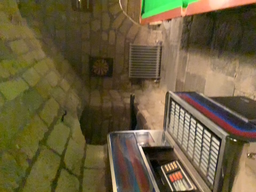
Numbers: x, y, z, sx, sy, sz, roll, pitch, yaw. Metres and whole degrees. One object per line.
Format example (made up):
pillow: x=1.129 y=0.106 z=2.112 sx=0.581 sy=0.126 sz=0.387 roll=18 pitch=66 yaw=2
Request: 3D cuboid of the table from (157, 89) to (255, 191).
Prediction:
table: x=0.780 y=0.410 z=1.640 sx=1.130 sy=0.760 sz=0.710 roll=-123 pitch=34 yaw=-74
